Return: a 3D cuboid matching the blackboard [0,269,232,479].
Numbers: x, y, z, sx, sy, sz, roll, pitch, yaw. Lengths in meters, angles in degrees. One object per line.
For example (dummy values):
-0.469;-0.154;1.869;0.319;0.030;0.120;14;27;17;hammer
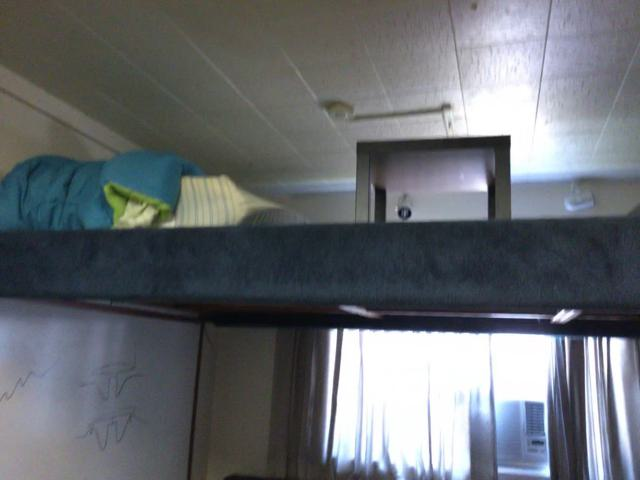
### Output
-1.000;1.000;2.810;0.160;1.380;2.070;-1;-14;17;blackboard
